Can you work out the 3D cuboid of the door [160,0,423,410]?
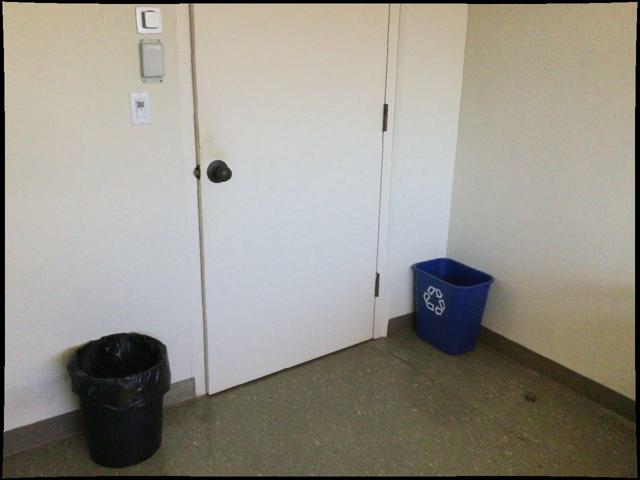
[{"bbox_3d":[-0.060,-0.291,2.470,1.108,1.864,0.150,-12,22,-32],"label":"door"}]
